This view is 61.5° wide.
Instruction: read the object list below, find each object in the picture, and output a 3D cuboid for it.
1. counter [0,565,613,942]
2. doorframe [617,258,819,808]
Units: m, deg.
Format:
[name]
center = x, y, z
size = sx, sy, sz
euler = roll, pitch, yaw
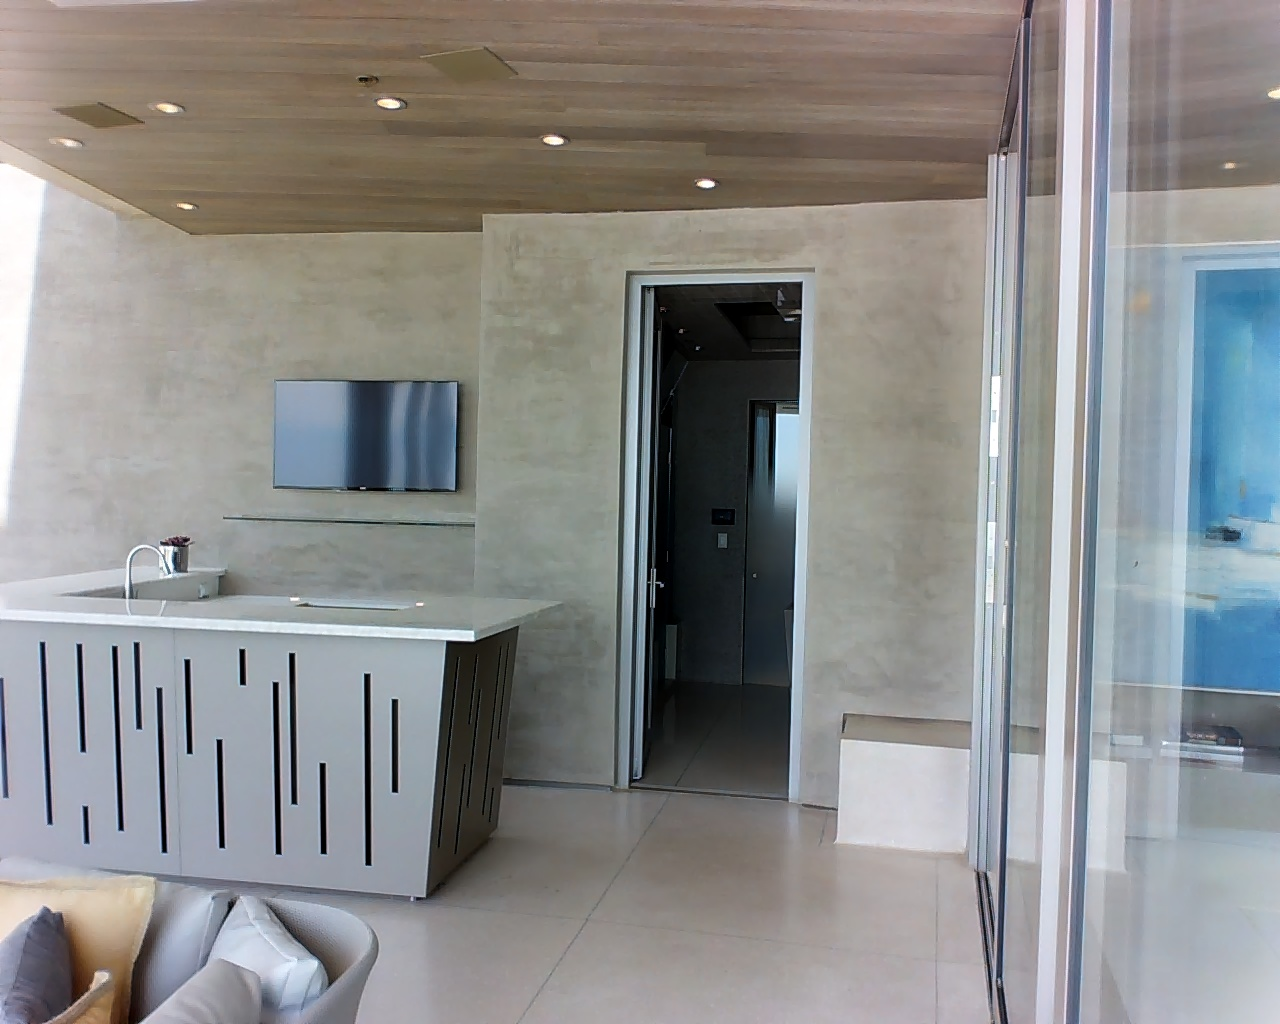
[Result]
[counter]
center = -1.430, 0.910, 5.090
size = 2.240, 1.130, 2.390
euler = 1, 1, 7
[doorframe]
center = 0.410, 0.100, 5.620
size = 0.980, 2.770, 0.240
euler = 1, 1, 10
